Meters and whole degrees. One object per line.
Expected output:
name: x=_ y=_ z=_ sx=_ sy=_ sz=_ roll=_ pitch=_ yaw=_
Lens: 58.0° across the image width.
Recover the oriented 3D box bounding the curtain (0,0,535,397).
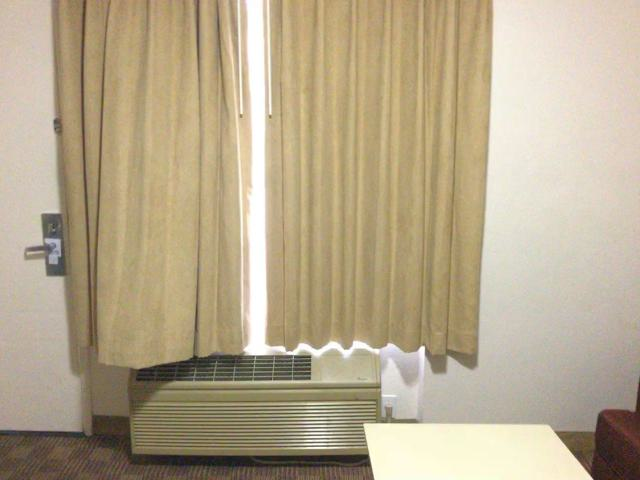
curtain: x=-0.210 y=-0.200 z=2.250 sx=1.840 sy=1.490 sz=0.470 roll=0 pitch=9 yaw=-2
